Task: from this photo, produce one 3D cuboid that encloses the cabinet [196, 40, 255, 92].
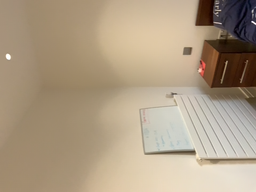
[{"bbox_3d":[1.170,-0.330,2.250,0.440,0.710,0.400,-92,2,-58],"label":"cabinet"}]
